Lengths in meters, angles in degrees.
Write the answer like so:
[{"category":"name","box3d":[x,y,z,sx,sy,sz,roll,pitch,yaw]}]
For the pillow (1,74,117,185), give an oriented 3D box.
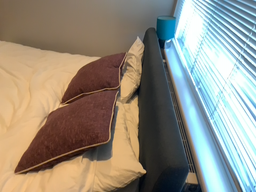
[{"category":"pillow","box3d":[-0.300,0.130,1.120,0.130,0.450,0.470,-45,7,16]}]
